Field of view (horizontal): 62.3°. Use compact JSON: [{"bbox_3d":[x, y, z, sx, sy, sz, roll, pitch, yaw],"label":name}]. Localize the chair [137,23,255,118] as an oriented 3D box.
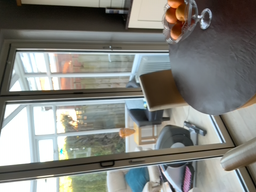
[{"bbox_3d":[0.640,-0.200,1.740,0.560,0.970,0.460,103,159,-47],"label":"chair"}]
